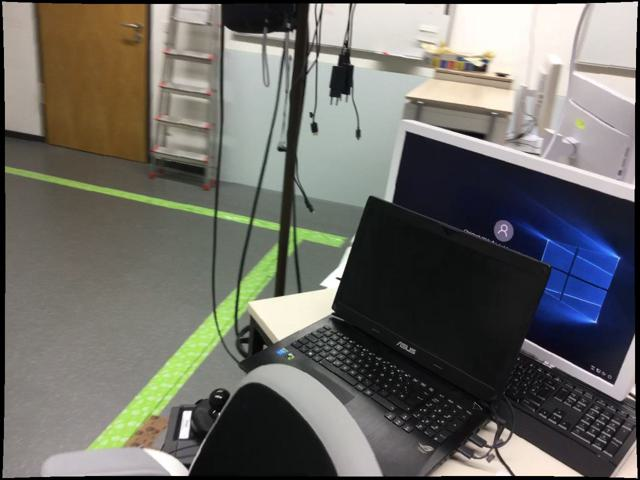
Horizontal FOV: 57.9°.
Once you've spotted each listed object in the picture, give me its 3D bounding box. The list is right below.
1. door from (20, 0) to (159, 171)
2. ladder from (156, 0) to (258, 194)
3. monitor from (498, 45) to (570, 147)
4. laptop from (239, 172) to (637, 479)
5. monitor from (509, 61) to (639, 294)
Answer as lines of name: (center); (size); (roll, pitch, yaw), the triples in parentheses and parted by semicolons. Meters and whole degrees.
door: (-1.848, -1.752, 4.560); (1.109, 2.312, 0.120); (10, 24, 14)
ladder: (-0.789, -1.321, 4.120); (0.569, 1.882, 0.400); (10, 24, 14)
monitor: (1.159, -0.821, 3.200); (0.260, 0.430, 0.710); (10, 24, 13)
laptop: (0.190, 0.140, 1.090); (0.500, 0.360, 0.480); (-14, 29, -36)
monitor: (0.819, -0.240, 1.810); (0.250, 0.530, 0.680); (7, 23, 7)
